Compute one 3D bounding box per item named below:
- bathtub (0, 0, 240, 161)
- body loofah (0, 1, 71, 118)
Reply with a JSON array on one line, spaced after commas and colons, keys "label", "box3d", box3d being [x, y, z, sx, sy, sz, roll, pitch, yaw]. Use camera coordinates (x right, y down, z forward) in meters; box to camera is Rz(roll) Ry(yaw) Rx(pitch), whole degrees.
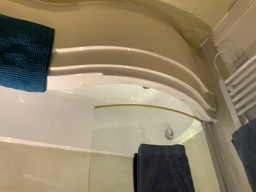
[{"label": "bathtub", "box3d": [-0.370, -0.130, 1.310, 1.660, 0.600, 0.910, 13, 140, -22]}, {"label": "body loofah", "box3d": [-0.610, -0.190, 0.990, 0.560, 0.370, 0.320, 15, 139, -24]}]
